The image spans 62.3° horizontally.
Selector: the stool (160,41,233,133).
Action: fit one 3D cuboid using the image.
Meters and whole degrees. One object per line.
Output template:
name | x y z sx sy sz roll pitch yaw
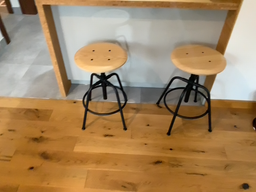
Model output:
stool | 0.450 -0.050 1.570 0.340 0.580 0.340 3 44 2
